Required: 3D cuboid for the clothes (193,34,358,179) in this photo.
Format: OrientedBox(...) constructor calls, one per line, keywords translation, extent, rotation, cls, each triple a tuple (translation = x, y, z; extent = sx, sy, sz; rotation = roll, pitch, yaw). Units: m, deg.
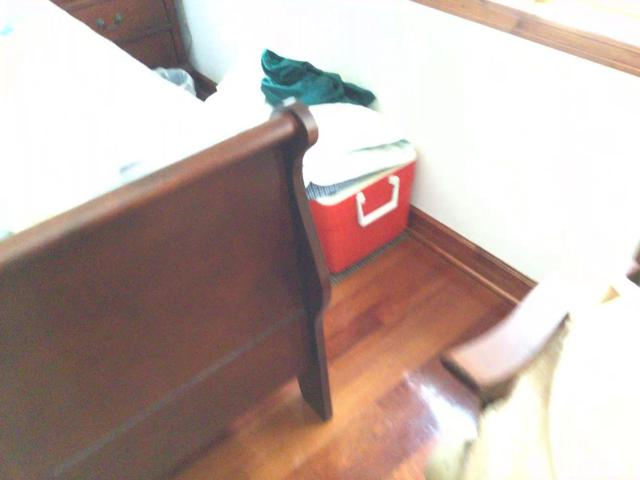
OrientedBox(translation=(-0.130, -0.420, 1.760), extent=(0.330, 0.210, 0.360), rotation=(-31, 49, -25), cls="clothes")
